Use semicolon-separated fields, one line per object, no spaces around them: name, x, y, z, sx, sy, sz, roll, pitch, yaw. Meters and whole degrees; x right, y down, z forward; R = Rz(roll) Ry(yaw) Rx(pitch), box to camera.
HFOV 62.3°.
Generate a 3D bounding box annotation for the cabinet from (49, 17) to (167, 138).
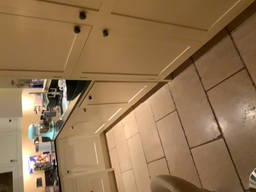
cabinet;-0.460;-0.060;2.930;1.900;0.890;0.710;-43;54;53
